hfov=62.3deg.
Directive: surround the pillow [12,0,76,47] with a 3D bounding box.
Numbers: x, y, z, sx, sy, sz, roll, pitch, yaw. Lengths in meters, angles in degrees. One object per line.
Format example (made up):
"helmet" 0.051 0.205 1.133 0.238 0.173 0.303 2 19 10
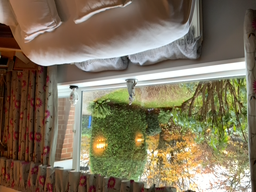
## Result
"pillow" -0.620 -0.640 1.530 0.440 0.350 0.120 -34 159 25
